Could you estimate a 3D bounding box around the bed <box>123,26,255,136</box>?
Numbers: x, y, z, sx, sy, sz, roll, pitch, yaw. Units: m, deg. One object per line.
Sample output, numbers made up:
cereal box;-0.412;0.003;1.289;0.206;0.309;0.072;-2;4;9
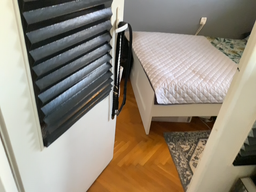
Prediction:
bed;1.140;-0.270;2.550;2.230;0.520;1.540;1;34;-9
